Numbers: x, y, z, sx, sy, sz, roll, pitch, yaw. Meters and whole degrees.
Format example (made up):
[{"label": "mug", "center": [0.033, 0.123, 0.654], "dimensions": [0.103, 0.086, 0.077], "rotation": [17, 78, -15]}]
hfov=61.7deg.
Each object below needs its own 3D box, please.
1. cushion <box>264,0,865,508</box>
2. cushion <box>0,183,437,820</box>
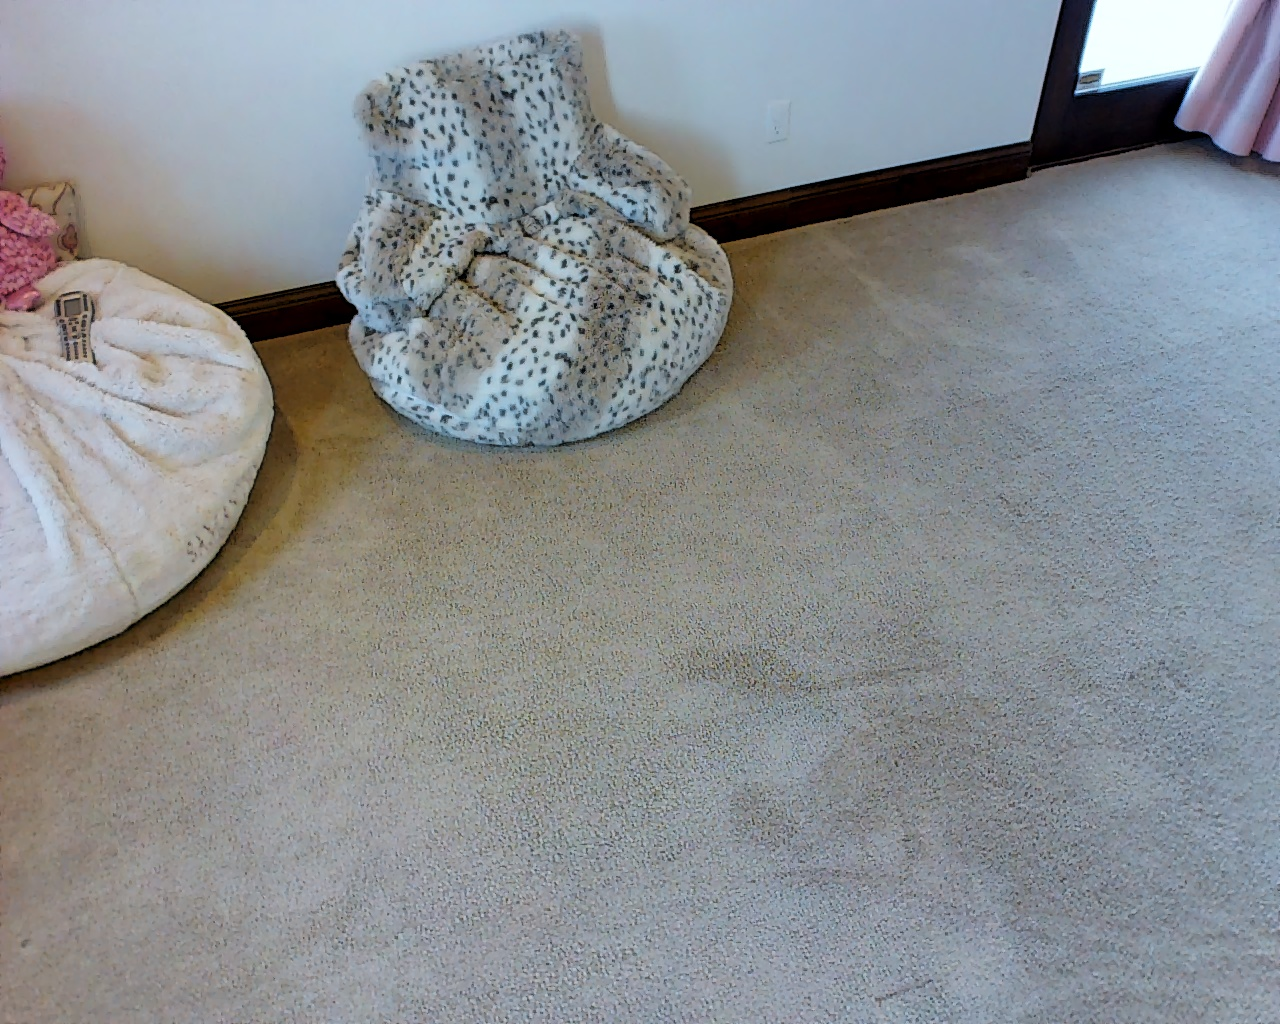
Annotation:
[{"label": "cushion", "center": [-0.190, -0.650, 2.510], "dimensions": [1.090, 0.700, 0.780], "rotation": [-15, 44, -14]}, {"label": "cushion", "center": [-1.230, -0.140, 2.260], "dimensions": [0.950, 0.430, 1.280], "rotation": [19, 47, 22]}]
